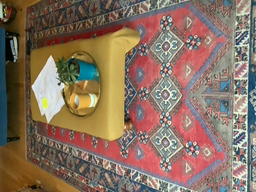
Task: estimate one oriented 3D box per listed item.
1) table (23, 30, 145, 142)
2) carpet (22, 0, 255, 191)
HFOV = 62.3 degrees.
[{"bbox_3d":[-0.430,-0.090,1.720,1.120,0.350,0.650,4,95,41],"label":"table"},{"bbox_3d":[-0.300,-0.070,1.820,2.750,0.010,1.860,4,94,41],"label":"carpet"}]
